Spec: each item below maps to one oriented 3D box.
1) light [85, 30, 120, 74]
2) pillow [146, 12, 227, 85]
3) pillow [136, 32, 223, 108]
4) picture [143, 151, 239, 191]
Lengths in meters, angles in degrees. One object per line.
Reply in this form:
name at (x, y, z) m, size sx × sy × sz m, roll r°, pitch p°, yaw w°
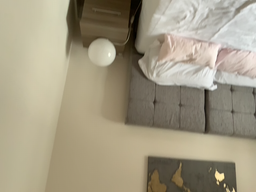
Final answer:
light at (-0.250, -0.390, 1.980) m, size 0.270 × 0.220 × 0.380 m, roll 8°, pitch 165°, yaw -10°
pillow at (0.510, -0.410, 1.860) m, size 0.660 × 0.230 × 0.170 m, roll 37°, pitch 157°, yaw -3°
pillow at (0.490, -0.260, 2.040) m, size 0.770 × 0.320 × 0.130 m, roll 38°, pitch 156°, yaw 5°
picture at (0.610, 0.900, 2.010) m, size 0.940 × 0.640 × 0.060 m, roll 8°, pitch 165°, yaw -8°
